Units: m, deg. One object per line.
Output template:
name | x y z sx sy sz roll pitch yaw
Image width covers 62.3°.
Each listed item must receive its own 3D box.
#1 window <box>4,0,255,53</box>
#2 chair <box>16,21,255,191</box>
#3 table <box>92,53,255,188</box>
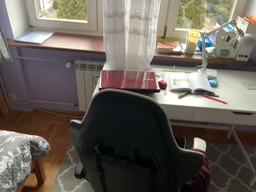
window | 0.030 -1.200 1.770 2.180 1.490 0.300 4 34 -1
chair | 0.060 0.330 1.210 0.730 1.220 0.710 12 34 11
table | 0.450 0.180 1.870 1.370 0.770 0.740 5 34 1
